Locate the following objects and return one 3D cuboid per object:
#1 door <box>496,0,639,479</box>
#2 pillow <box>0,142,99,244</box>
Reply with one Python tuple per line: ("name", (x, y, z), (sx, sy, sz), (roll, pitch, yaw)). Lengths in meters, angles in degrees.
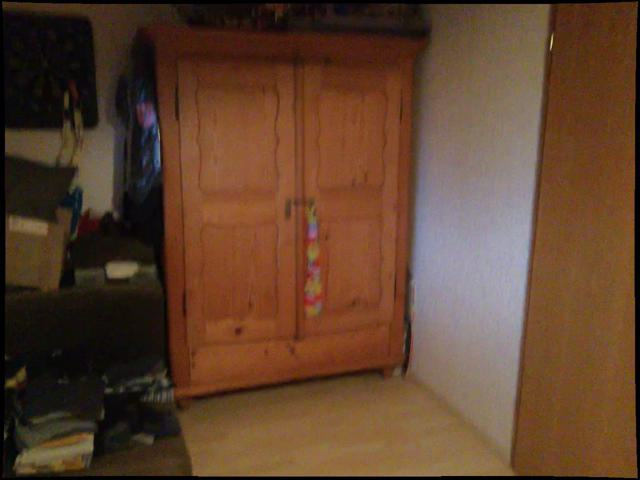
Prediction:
("door", (1.039, 0.030, 1.840), (0.100, 2.062, 1.110), (-4, 15, -20))
("pillow", (-1.389, -0.240, 2.780), (0.579, 0.430, 0.350), (-4, 15, -20))
